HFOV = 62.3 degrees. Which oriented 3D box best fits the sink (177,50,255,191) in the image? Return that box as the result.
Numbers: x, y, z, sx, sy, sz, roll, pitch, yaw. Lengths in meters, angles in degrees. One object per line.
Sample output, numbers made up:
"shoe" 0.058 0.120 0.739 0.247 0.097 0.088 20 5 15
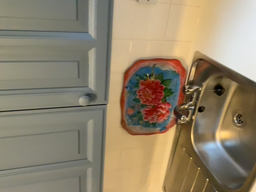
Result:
"sink" 0.450 0.120 0.890 0.430 0.200 0.510 -122 33 -56
